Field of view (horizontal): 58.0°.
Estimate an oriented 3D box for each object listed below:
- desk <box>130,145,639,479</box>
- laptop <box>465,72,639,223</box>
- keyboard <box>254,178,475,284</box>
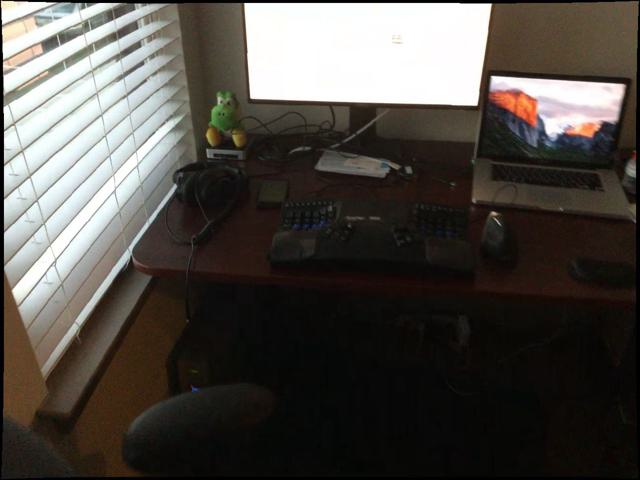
[{"bbox_3d":[0.299,0.180,1.690,1.367,0.591,0.711,3,37,8],"label":"desk"},{"bbox_3d":[0.589,-0.251,1.460,0.389,0.200,0.360,8,38,13],"label":"laptop"},{"bbox_3d":[0.100,-0.030,1.240,0.429,0.070,0.250,3,37,8],"label":"keyboard"}]
